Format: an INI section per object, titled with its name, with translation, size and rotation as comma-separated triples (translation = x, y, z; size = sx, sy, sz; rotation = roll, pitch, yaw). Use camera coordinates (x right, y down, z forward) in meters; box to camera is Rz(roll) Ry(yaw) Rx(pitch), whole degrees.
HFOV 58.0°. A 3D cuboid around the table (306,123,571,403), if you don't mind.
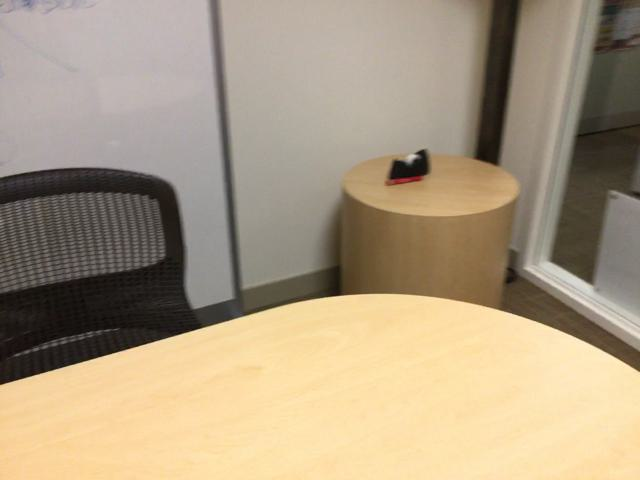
[table]
translation = 0.380, 0.030, 2.070
size = 0.620, 0.680, 0.610
rotation = -15, 29, -23
